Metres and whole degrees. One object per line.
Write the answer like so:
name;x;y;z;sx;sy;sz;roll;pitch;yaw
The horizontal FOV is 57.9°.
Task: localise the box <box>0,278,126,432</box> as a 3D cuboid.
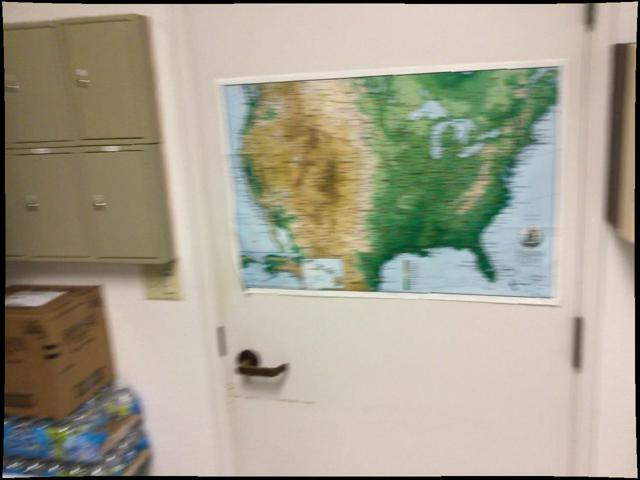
box;-0.789;0.300;1.600;0.360;0.320;0.260;0;13;14
